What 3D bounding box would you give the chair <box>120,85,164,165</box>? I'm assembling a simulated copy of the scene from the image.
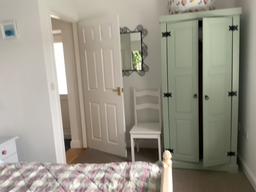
[{"bbox_3d":[0.230,0.370,2.990,0.490,0.970,0.570,0,10,14],"label":"chair"}]
